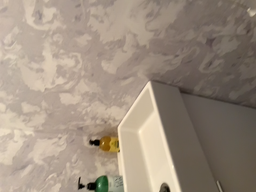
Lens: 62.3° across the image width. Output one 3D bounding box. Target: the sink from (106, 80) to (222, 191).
[{"bbox_3d":[0.070,0.240,0.750,0.420,0.130,0.400,122,148,-41],"label":"sink"}]
